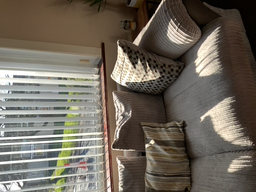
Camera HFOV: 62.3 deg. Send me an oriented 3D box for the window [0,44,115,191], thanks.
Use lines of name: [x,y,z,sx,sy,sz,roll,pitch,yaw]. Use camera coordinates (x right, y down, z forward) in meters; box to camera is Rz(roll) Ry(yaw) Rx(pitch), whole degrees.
window: [-0.970,0.440,1.940,0.200,1.630,1.930,137,130,-60]
